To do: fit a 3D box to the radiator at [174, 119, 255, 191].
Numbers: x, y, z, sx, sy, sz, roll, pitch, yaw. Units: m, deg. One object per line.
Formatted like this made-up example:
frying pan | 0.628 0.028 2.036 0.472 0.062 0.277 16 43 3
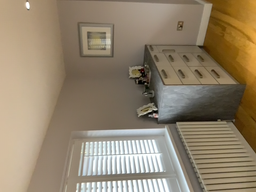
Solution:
radiator | 1.000 0.650 2.210 1.220 0.700 0.090 -101 12 -59
